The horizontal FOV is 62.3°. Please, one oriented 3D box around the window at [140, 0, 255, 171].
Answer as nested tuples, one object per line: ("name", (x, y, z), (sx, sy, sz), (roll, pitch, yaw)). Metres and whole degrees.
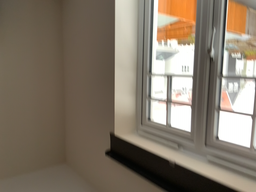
("window", (0.470, -0.260, 1.220), (0.080, 1.180, 1.080), (-5, -170, -38))
